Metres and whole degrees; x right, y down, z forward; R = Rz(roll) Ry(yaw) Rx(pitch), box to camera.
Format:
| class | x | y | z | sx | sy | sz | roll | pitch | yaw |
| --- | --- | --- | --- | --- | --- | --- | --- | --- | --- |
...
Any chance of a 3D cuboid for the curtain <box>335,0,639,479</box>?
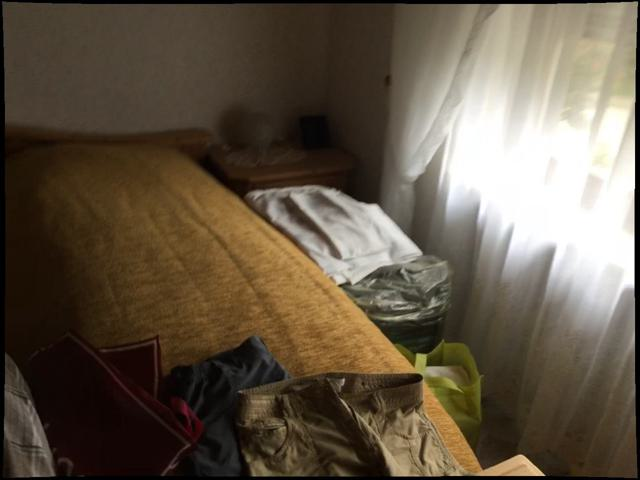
| class | x | y | z | sx | sy | sz | roll | pitch | yaw |
| --- | --- | --- | --- | --- | --- | --- | --- | --- | --- |
| curtain | 0.789 | -0.380 | 1.310 | 0.260 | 2.442 | 2.400 | -13 | 34 | -25 |

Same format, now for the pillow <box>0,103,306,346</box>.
| class | x | y | z | sx | sy | sz | roll | pitch | yaw |
| --- | --- | --- | --- | --- | --- | --- | --- | --- | --- |
| pillow | -0.769 | -0.140 | 2.080 | 1.119 | 0.320 | 0.950 | -13 | 34 | -25 |

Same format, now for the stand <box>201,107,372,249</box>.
| class | x | y | z | sx | sy | sz | roll | pitch | yaw |
| --- | --- | --- | --- | --- | --- | --- | --- | --- | --- |
| stand | -0.170 | -0.320 | 2.740 | 0.630 | 0.420 | 0.490 | -13 | 34 | -25 |
